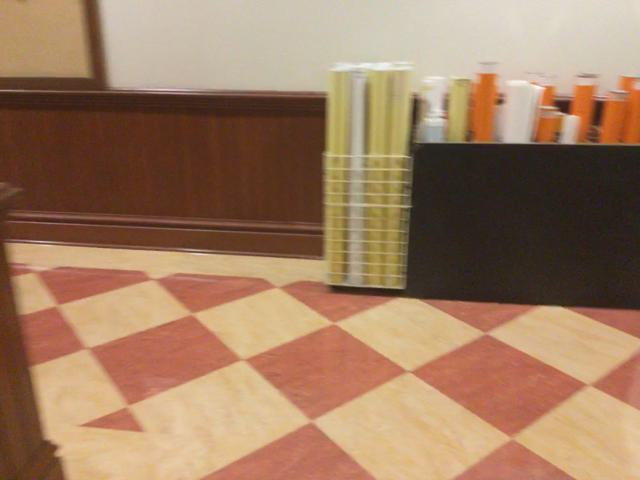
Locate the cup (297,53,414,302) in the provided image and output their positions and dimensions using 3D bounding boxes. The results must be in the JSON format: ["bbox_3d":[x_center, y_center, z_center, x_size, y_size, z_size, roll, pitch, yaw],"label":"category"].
[{"bbox_3d":[0.210,-0.310,2.880,0.490,1.150,0.440,-1,19,9],"label":"cup"}]
